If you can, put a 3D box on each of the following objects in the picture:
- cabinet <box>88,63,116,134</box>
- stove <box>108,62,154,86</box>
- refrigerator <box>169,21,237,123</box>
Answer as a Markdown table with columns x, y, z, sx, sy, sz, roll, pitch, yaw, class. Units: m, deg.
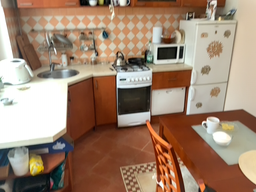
| x | y | z | sx | sy | sz | roll | pitch | yaw | class |
| --- | --- | --- | --- | --- | --- | --- | --- | --- | --- |
| -0.390 | 0.010 | 3.150 | 0.300 | 0.870 | 0.620 | -5 | 22 | -12 | cabinet |
| 0.020 | -0.340 | 3.100 | 0.530 | 0.150 | 0.640 | -5 | 22 | -12 | stove |
| 1.110 | -0.400 | 3.350 | 0.610 | 1.470 | 0.620 | -5 | 22 | -12 | refrigerator |
